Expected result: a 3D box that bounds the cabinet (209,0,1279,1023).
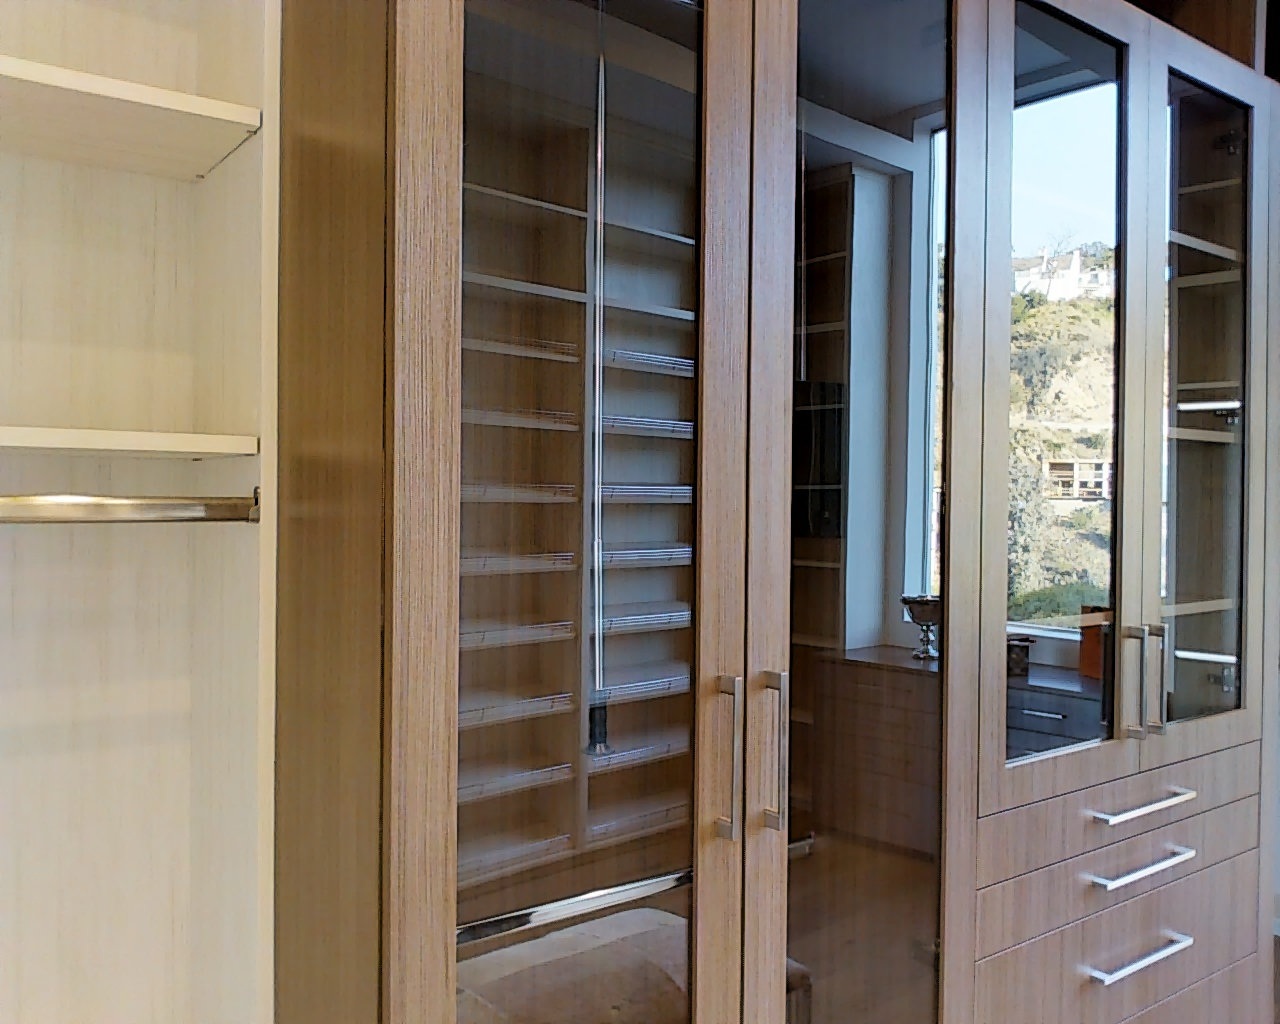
[{"bbox_3d":[0.830,-0.030,2.110,3.030,3.110,0.680,0,1,-37],"label":"cabinet"}]
